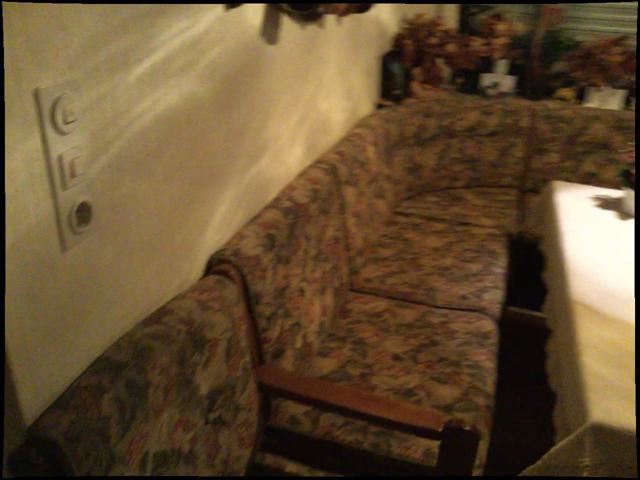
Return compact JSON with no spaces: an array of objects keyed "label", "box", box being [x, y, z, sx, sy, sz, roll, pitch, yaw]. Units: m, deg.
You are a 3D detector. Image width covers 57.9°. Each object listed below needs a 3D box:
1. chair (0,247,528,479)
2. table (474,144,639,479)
[{"label":"chair","box":[-0.050,0.591,1.060,0.629,0.851,0.650,12,29,16]},{"label":"table","box":[1.049,0.380,1.680,0.989,0.751,1.590,12,29,16]}]
